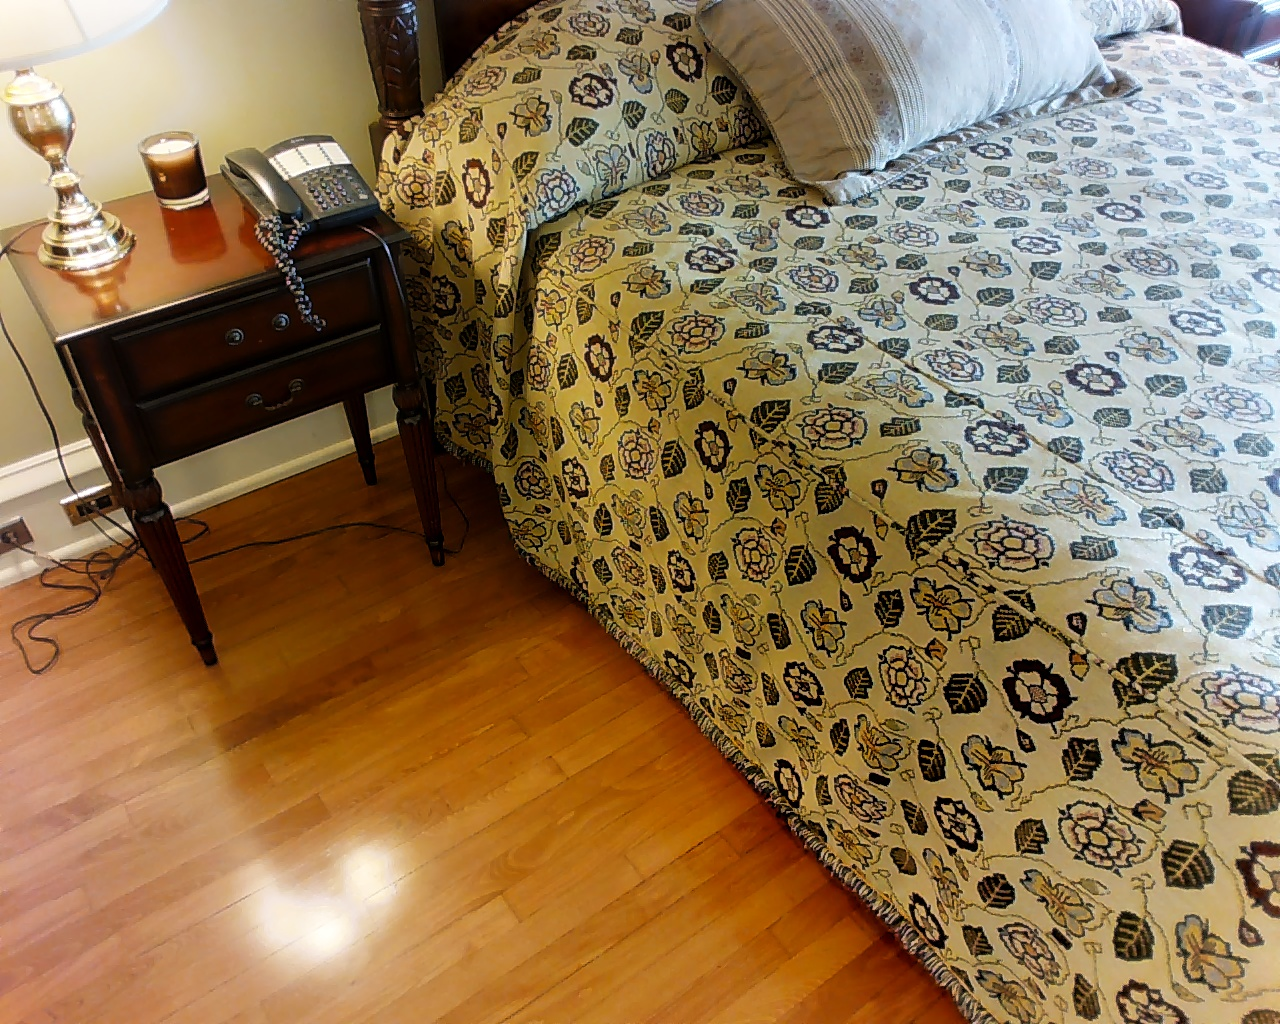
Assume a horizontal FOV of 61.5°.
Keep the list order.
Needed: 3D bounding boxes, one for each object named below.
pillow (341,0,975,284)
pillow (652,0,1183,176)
[{"bbox_3d":[0.060,-0.880,2.120,1.090,0.350,0.550,-26,48,-26],"label":"pillow"},{"bbox_3d":[0.580,-0.960,2.110,1.000,0.230,0.470,-25,11,-27],"label":"pillow"}]
